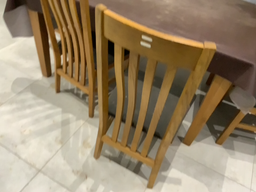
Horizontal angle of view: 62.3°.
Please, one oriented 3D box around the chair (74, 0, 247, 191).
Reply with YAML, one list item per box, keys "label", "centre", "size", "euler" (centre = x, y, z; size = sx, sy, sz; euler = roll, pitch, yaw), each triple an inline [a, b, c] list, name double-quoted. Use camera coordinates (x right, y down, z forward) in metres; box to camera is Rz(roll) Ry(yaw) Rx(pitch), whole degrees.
- label: "chair"
  centre: [0.100, 0.010, 1.120]
  size: [0.470, 1.000, 0.540]
  euler: [26, 46, 16]
